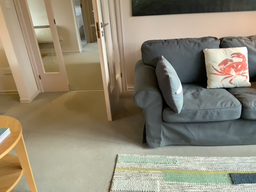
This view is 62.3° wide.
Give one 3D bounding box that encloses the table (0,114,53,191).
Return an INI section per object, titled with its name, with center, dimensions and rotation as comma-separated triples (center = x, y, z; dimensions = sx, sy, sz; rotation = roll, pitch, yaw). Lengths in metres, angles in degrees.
[table]
center = -0.960, 0.520, 1.360
dimensions = 0.630, 0.600, 0.560
rotation = -1, 27, 6
